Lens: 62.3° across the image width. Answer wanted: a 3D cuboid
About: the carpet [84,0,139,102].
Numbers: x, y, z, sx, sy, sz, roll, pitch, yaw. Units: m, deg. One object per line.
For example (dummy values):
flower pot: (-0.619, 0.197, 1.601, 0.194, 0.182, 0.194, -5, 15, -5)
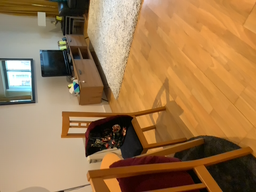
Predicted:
carpet: (-0.440, -1.370, 3.680, 2.410, 0.040, 1.790, -117, 31, -42)
